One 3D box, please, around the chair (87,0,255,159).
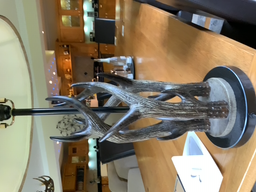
[{"bbox_3d":[0.390,-0.140,0.960,0.460,1.110,0.590,-107,19,-59],"label":"chair"}]
